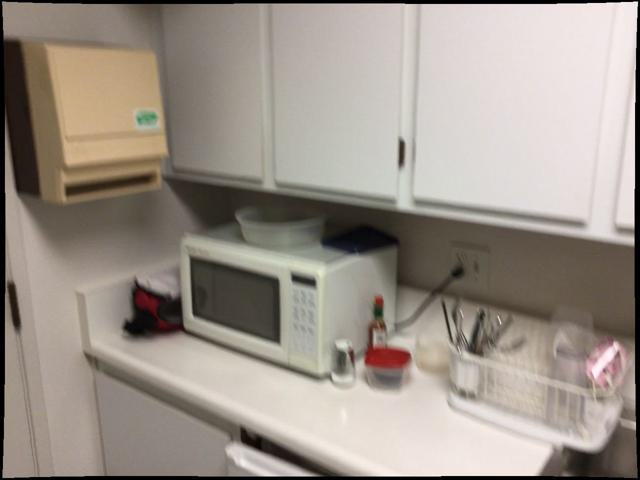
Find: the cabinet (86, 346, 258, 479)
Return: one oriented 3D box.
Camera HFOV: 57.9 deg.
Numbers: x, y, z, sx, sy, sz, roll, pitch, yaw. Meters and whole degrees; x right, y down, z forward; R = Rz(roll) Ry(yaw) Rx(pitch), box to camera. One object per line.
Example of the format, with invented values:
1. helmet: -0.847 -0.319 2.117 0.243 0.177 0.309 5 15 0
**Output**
1. cabinet: -0.430 0.701 1.650 0.640 0.641 0.080 12 19 37
